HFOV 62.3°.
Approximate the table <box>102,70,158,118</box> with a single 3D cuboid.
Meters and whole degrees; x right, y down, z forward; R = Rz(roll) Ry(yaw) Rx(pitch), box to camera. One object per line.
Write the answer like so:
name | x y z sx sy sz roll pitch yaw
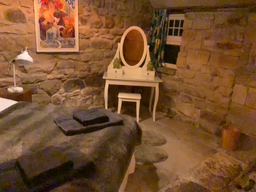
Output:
table | 0.010 -0.060 3.930 0.930 0.710 0.610 3 17 -3
